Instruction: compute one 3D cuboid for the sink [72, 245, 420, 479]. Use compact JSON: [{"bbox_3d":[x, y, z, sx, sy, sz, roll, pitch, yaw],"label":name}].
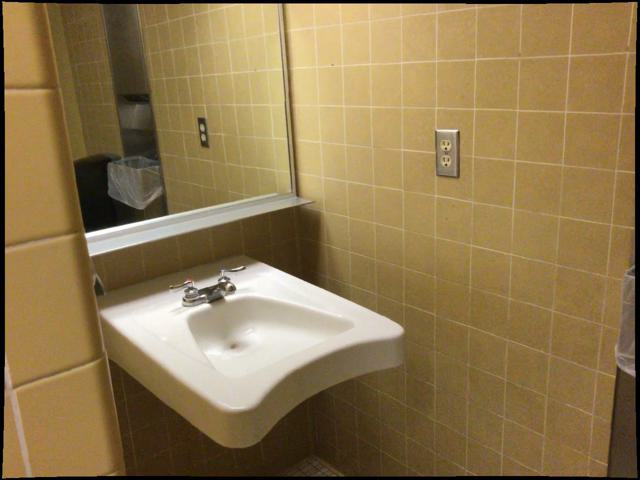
[{"bbox_3d":[-0.209,0.251,1.460,0.549,0.221,0.719,-14,22,-39],"label":"sink"}]
